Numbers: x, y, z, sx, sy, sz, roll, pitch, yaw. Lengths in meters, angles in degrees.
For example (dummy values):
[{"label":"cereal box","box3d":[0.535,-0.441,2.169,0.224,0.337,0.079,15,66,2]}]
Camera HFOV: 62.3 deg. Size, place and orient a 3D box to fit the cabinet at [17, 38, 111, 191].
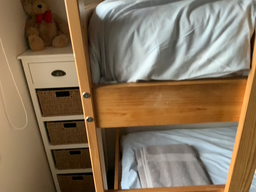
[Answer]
[{"label":"cabinet","box3d":[-0.370,0.210,1.520,0.400,1.150,0.320,-3,26,0]}]
